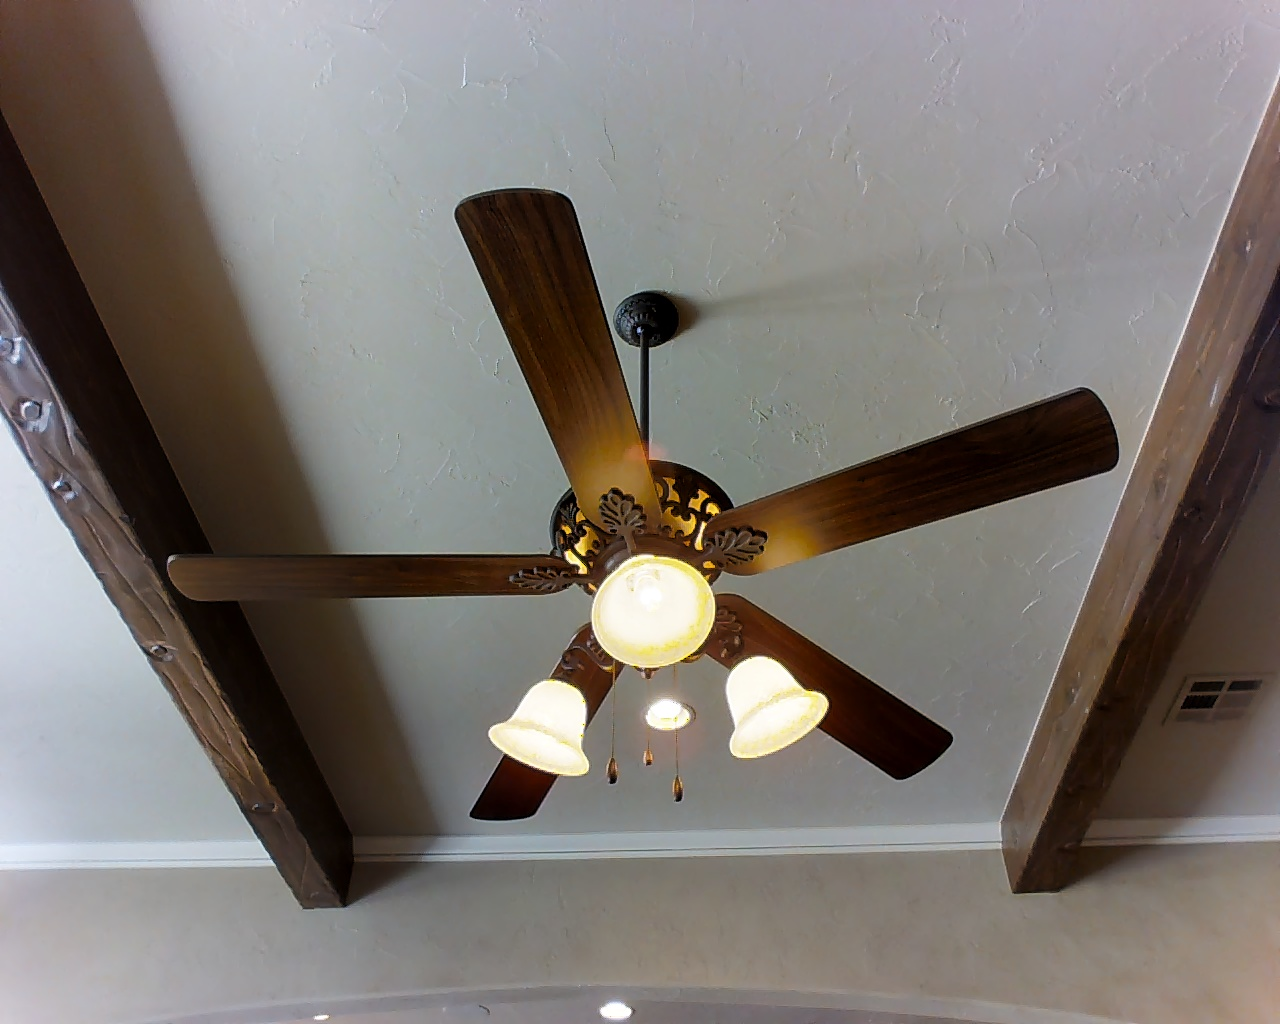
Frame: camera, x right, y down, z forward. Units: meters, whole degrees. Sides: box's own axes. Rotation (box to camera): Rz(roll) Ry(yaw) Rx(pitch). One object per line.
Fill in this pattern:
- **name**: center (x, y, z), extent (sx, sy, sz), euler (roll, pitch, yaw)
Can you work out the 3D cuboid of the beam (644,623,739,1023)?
- **beam**: center (0.270, 2.331, 5.250), extent (0.290, 0.310, 5.281), euler (-2, -45, 2)
